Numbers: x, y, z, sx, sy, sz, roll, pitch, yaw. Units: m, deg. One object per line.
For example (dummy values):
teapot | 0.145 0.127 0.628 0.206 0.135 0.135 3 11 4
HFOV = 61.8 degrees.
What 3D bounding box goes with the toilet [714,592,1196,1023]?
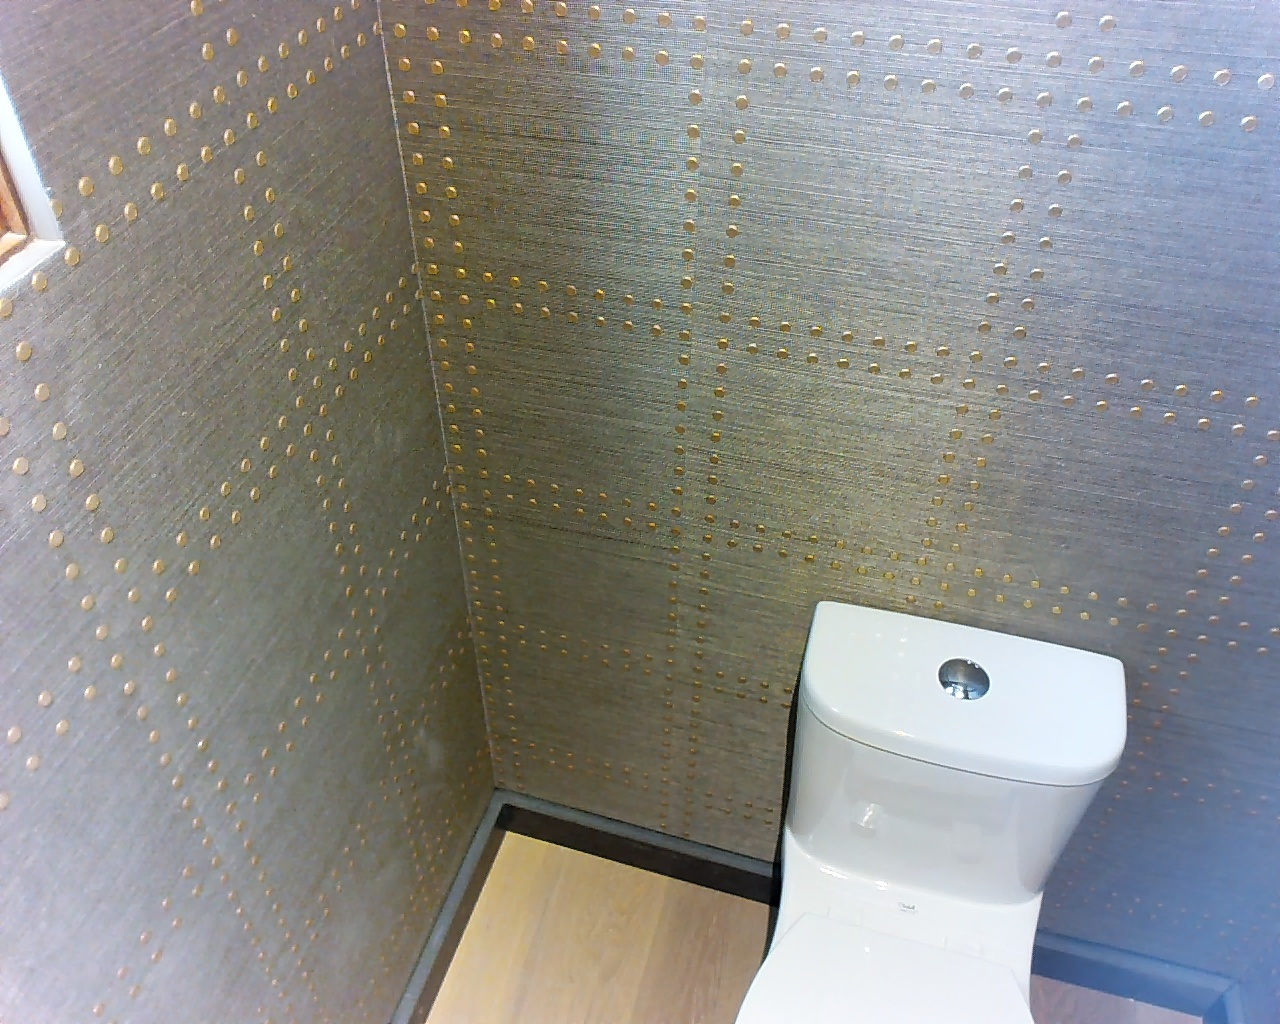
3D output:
toilet | 0.310 0.640 1.280 0.410 0.730 0.720 11 43 11
